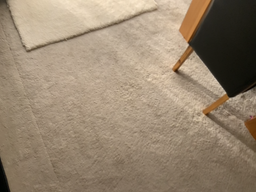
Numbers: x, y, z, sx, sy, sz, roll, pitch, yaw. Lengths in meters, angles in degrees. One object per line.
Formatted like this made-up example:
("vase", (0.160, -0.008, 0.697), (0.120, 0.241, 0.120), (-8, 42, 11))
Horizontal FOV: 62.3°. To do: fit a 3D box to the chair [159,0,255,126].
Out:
("chair", (0.570, -0.280, 0.940), (0.510, 0.990, 0.390), (-26, 72, -16))
